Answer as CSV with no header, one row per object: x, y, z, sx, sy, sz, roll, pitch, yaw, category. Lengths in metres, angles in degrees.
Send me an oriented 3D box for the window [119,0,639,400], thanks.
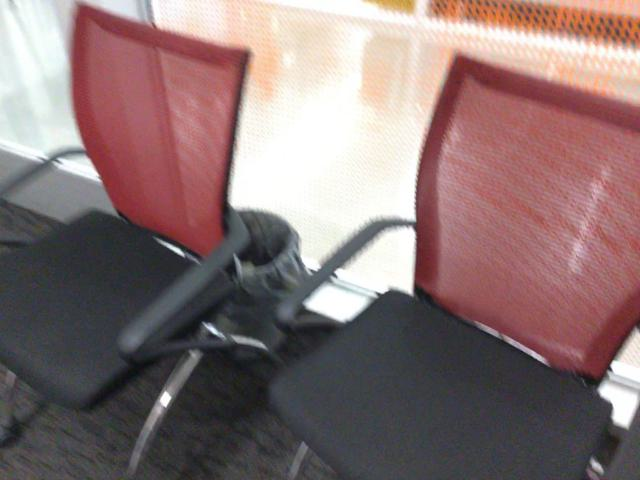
0.390,-0.270,1.220,1.840,1.170,0.180,17,39,18,window

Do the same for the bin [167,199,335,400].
-0.170,0.150,1.550,0.300,0.350,0.310,17,39,18,bin
